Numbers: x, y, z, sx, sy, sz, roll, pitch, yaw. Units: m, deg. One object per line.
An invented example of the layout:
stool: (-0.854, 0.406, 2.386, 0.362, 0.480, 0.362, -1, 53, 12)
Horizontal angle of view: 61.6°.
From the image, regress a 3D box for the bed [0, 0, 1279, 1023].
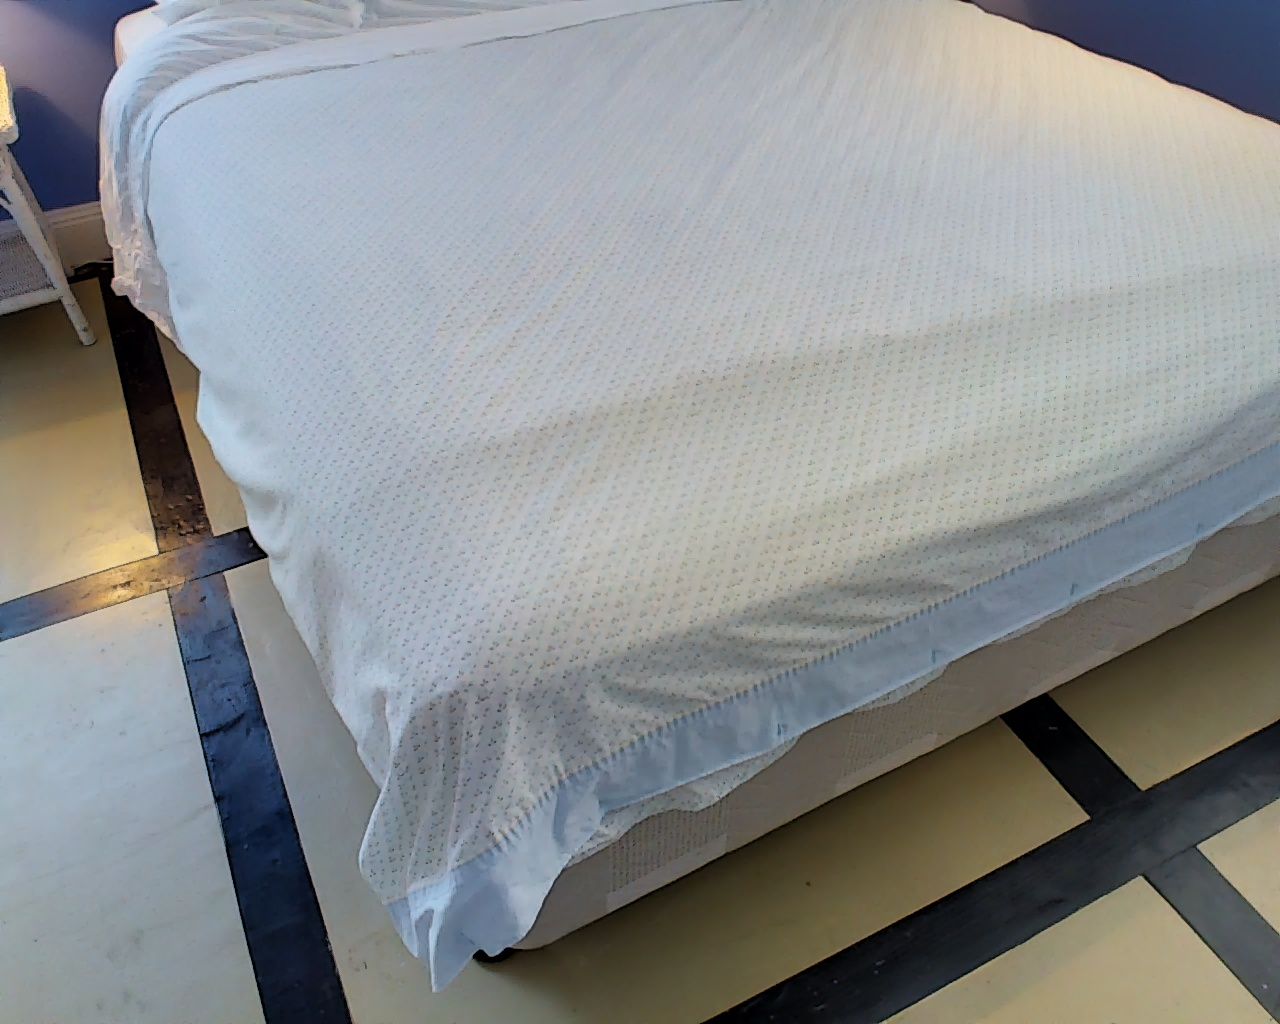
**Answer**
bed: (0.010, -0.450, 1.950, 1.840, 0.670, 2.250, -19, 45, -18)

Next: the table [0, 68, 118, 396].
table: (-1.420, -0.570, 2.250, 0.400, 0.510, 0.420, -20, 45, -19)
